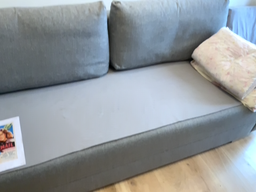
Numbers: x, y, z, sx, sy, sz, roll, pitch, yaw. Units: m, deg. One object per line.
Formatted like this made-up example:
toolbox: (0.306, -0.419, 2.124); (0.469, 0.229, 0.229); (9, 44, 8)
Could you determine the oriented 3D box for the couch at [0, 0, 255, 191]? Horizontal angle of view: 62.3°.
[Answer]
couch: (-0.050, -0.100, 1.420); (2.220, 0.860, 0.930); (-11, 45, -21)
